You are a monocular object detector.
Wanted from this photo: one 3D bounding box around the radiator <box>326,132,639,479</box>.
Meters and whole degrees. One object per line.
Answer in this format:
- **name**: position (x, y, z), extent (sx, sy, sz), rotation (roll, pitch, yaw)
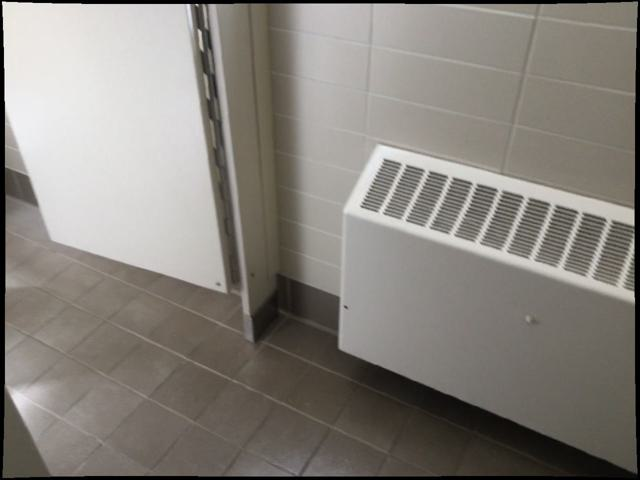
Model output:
- **radiator**: position (0.440, 0.160, 1.190), extent (0.879, 0.540, 0.180), rotation (20, 43, 24)
